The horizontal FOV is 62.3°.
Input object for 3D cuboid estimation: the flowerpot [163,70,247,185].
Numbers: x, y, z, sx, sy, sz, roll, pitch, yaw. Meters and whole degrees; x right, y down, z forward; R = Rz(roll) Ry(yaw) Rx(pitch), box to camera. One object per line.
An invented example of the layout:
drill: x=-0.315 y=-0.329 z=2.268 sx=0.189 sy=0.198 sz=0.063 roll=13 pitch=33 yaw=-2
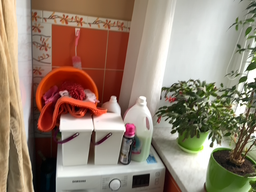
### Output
flowerpot: x=0.420 y=0.160 z=1.330 sx=0.300 sy=0.500 sz=0.480 roll=10 pitch=22 yaw=5

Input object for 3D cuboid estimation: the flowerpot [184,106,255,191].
flowerpot: x=0.640 y=0.370 z=0.890 sx=0.450 sy=0.420 sz=0.630 roll=0 pitch=23 yaw=-19
